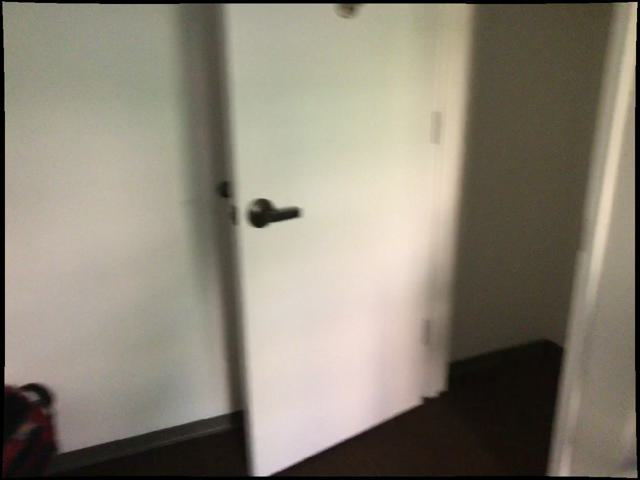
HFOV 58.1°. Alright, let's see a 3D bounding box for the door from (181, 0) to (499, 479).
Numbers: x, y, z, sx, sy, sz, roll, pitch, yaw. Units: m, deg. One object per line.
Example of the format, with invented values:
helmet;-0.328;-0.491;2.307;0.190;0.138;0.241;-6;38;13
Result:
door;0.140;-0.251;1.930;1.068;2.085;0.230;-17;25;-35
